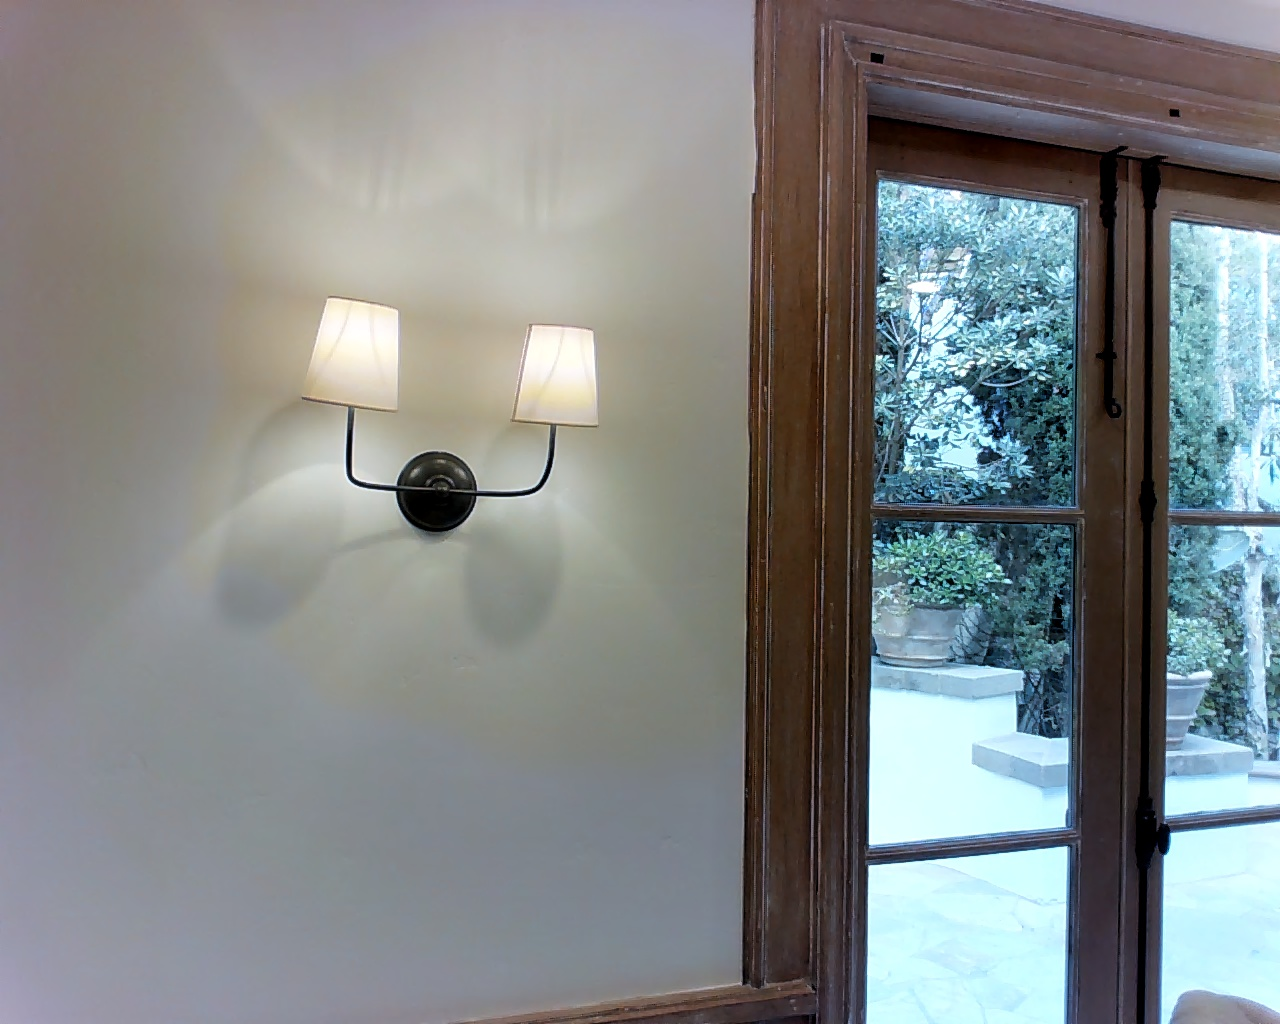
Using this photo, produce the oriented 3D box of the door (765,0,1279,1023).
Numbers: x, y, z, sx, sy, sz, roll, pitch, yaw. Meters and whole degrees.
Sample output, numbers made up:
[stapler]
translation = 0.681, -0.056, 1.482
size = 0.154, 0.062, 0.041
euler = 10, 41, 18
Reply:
[door]
translation = 1.120, 0.350, 2.320
size = 1.720, 2.631, 0.250
euler = 2, -1, -19
